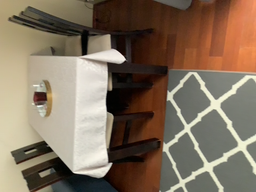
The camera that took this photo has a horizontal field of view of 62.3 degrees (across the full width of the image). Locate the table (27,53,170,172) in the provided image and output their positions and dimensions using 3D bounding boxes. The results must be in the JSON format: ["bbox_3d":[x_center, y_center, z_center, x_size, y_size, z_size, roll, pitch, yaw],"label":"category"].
[{"bbox_3d":[-0.380,0.000,1.960,1.250,0.760,0.700,16,105,51],"label":"table"}]
